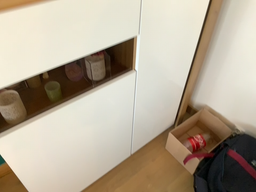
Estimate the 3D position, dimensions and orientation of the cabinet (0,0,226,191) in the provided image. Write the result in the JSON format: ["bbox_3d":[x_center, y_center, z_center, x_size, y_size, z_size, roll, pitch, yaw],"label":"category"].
[{"bbox_3d":[-0.140,-0.100,1.090,1.100,1.280,0.480,-29,53,-27],"label":"cabinet"}]
